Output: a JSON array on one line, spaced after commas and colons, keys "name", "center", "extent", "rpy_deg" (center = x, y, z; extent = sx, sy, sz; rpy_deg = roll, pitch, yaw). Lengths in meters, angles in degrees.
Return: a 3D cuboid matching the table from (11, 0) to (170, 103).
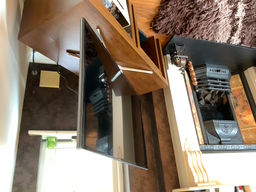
[{"name": "table", "center": [-0.150, -0.380, 1.500], "extent": [0.500, 0.460, 1.030], "rpy_deg": [-17, 153, 25]}]
